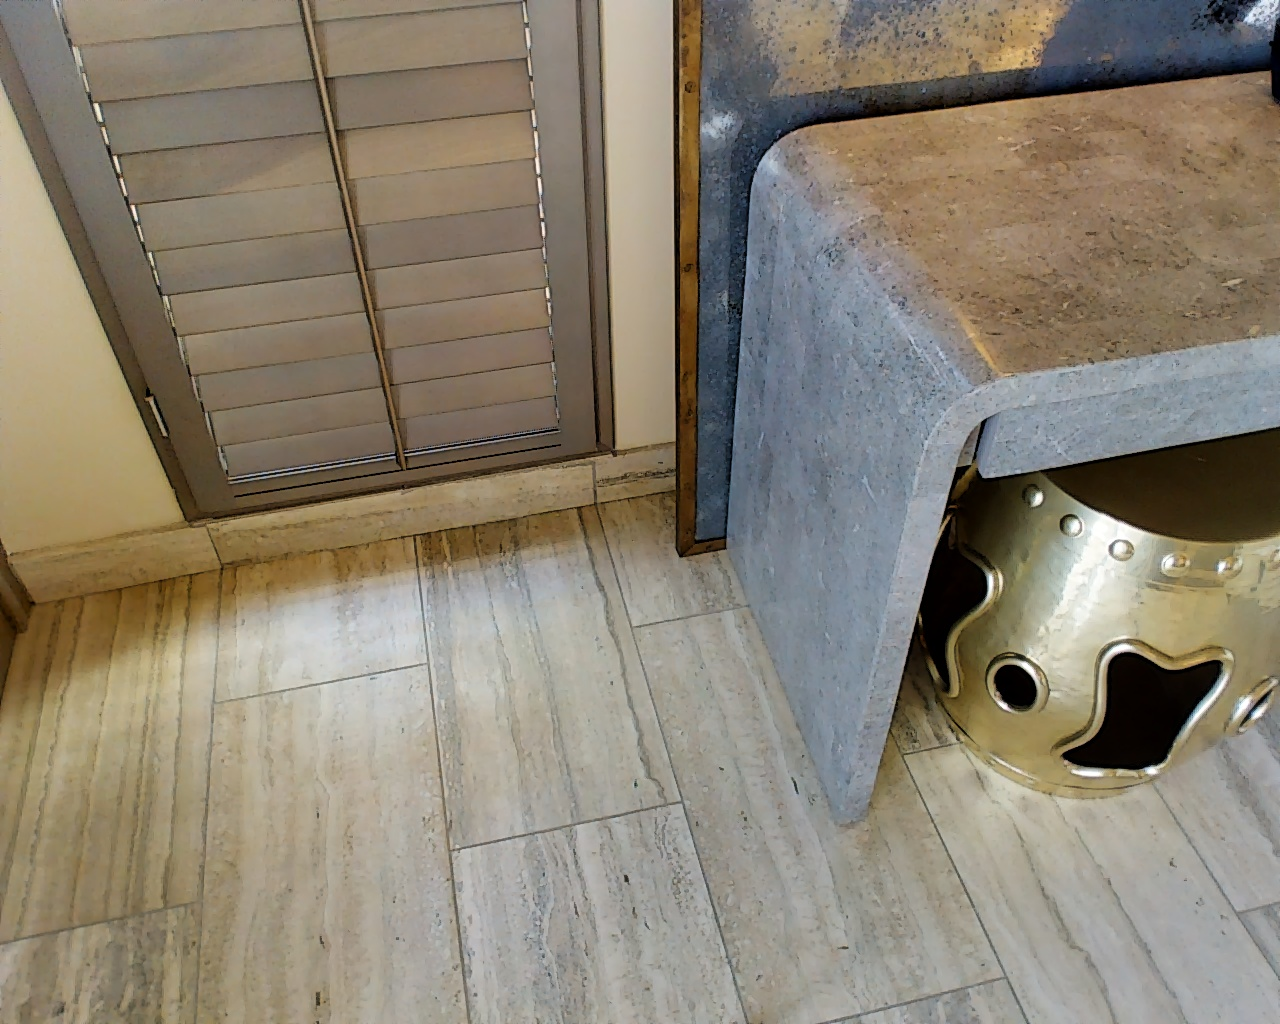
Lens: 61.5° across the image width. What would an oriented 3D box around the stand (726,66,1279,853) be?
[{"bbox_3d":[0.650,-0.090,1.410,0.920,0.710,0.590,-9,44,-8],"label":"stand"}]
